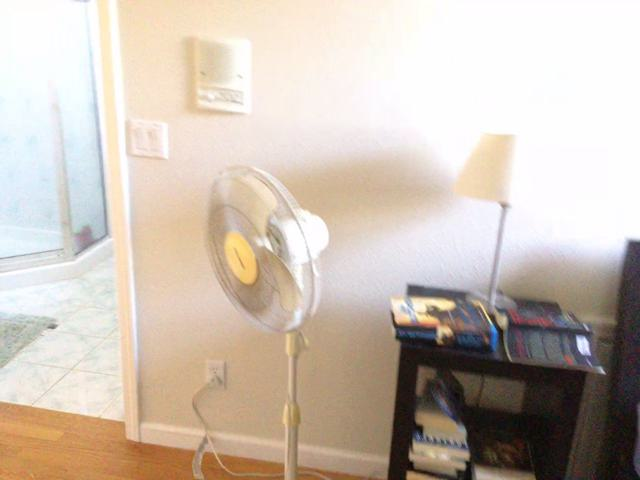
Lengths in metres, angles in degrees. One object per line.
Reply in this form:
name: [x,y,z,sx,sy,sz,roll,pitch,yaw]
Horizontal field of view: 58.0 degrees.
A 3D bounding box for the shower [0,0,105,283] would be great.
shower: [-1.950,-0.800,3.400,1.080,1.950,0.790,-6,20,-35]
